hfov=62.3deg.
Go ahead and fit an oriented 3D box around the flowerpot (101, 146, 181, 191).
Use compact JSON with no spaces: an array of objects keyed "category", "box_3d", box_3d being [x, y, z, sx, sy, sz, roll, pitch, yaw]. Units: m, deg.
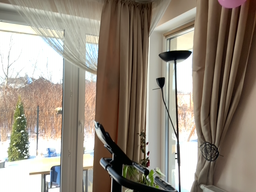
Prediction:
[{"category":"flowerpot","box_3d":[0.110,0.830,2.170,0.570,0.450,0.620,1,-1,-28]}]
